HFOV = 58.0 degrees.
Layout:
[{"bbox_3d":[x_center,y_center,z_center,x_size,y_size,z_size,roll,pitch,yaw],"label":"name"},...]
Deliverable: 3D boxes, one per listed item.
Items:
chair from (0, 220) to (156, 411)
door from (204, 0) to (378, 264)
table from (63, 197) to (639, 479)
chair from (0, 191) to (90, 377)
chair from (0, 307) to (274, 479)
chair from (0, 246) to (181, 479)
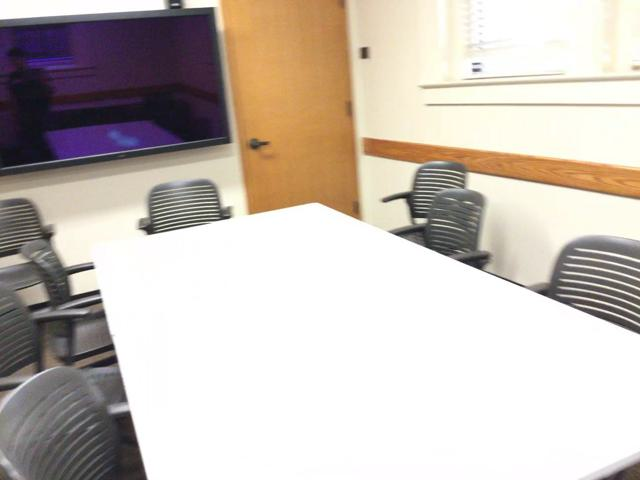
[{"bbox_3d":[-1.000,0.260,2.370,0.460,0.510,0.620,-13,16,-21],"label":"chair"},{"bbox_3d":[-0.170,-0.940,4.280,1.090,2.070,0.130,-13,16,-22],"label":"door"},{"bbox_3d":[-0.080,0.510,2.090,1.410,0.780,2.430,-13,16,-21],"label":"table"},{"bbox_3d":[-1.760,0.230,3.380,0.570,0.880,0.620,-13,16,-22],"label":"chair"},{"bbox_3d":[-0.400,0.690,1.260,0.590,0.820,0.620,-11,15,-13],"label":"chair"},{"bbox_3d":[-0.870,0.530,1.920,0.620,0.800,0.640,-9,15,-7],"label":"chair"}]
